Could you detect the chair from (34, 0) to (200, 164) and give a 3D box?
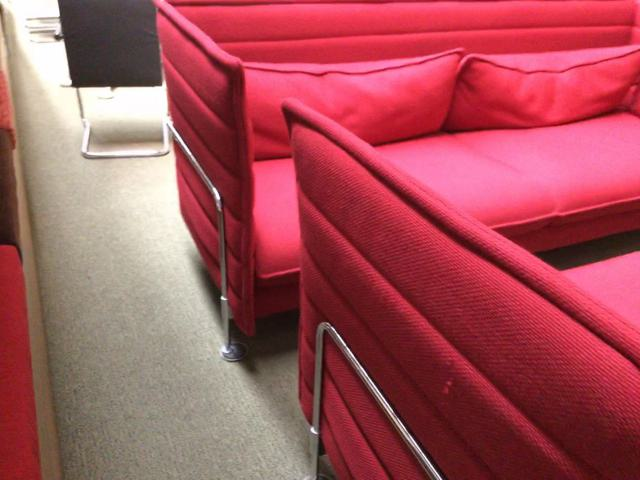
[{"bbox_3d":[-0.980,-0.850,2.920,0.640,0.790,0.390,-6,31,-12],"label":"chair"}]

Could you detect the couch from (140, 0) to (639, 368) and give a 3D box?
[{"bbox_3d":[0.700,-0.470,2.220,2.450,0.880,0.930,-12,32,-21],"label":"couch"}]
